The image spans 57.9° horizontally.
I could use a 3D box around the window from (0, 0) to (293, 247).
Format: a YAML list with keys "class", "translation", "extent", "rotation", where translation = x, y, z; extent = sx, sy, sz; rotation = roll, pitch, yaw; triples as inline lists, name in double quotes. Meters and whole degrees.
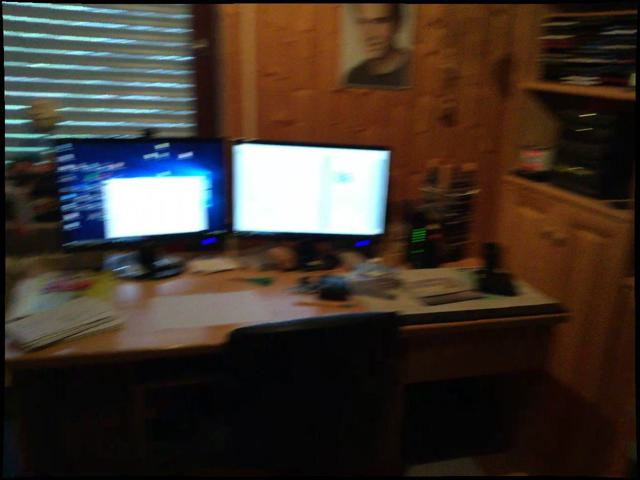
- class: "window"
  translation: [-0.999, -0.631, 2.080]
  extent: [1.619, 1.131, 0.440]
  rotation: [-15, 23, -19]

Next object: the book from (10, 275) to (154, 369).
- class: "book"
  translation: [-0.589, 0.190, 1.430]
  extent: [0.250, 0.060, 0.250]
  rotation: [-25, 28, -37]
